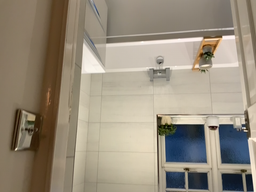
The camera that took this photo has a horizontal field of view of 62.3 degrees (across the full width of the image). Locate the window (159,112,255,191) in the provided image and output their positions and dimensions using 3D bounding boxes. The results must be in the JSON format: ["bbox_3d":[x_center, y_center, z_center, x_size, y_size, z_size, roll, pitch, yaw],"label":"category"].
[{"bbox_3d":[0.950,0.720,2.300,1.180,1.030,0.370,-1,167,10],"label":"window"}]

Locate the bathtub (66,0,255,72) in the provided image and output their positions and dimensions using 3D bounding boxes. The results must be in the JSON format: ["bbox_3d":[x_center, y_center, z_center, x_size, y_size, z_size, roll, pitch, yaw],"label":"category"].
[{"bbox_3d":[0.330,-0.660,2.170,1.680,0.550,0.690,-1,167,10],"label":"bathtub"}]
